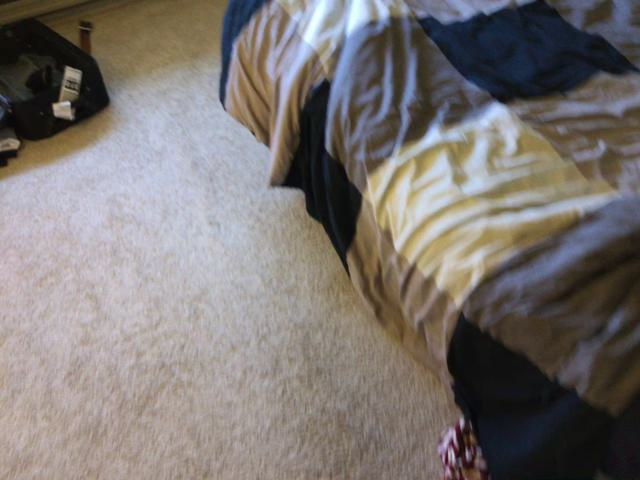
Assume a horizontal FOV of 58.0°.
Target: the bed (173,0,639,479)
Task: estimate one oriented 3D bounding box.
[{"bbox_3d":[0.960,-0.430,1.650,2.170,0.520,1.790,-25,52,-17],"label":"bed"}]
